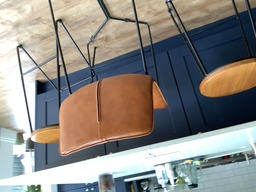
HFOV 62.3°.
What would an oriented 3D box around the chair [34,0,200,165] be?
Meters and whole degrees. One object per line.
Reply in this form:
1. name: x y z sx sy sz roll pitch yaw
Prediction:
1. chair: -0.050 -0.150 1.210 0.610 0.920 0.640 -17 156 15
